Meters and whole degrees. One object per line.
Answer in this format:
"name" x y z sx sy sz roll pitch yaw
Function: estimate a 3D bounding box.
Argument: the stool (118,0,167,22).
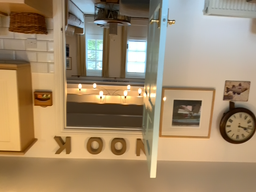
"stool" 0.230 -1.810 4.060 0.810 0.560 1.070 2 -168 -4
